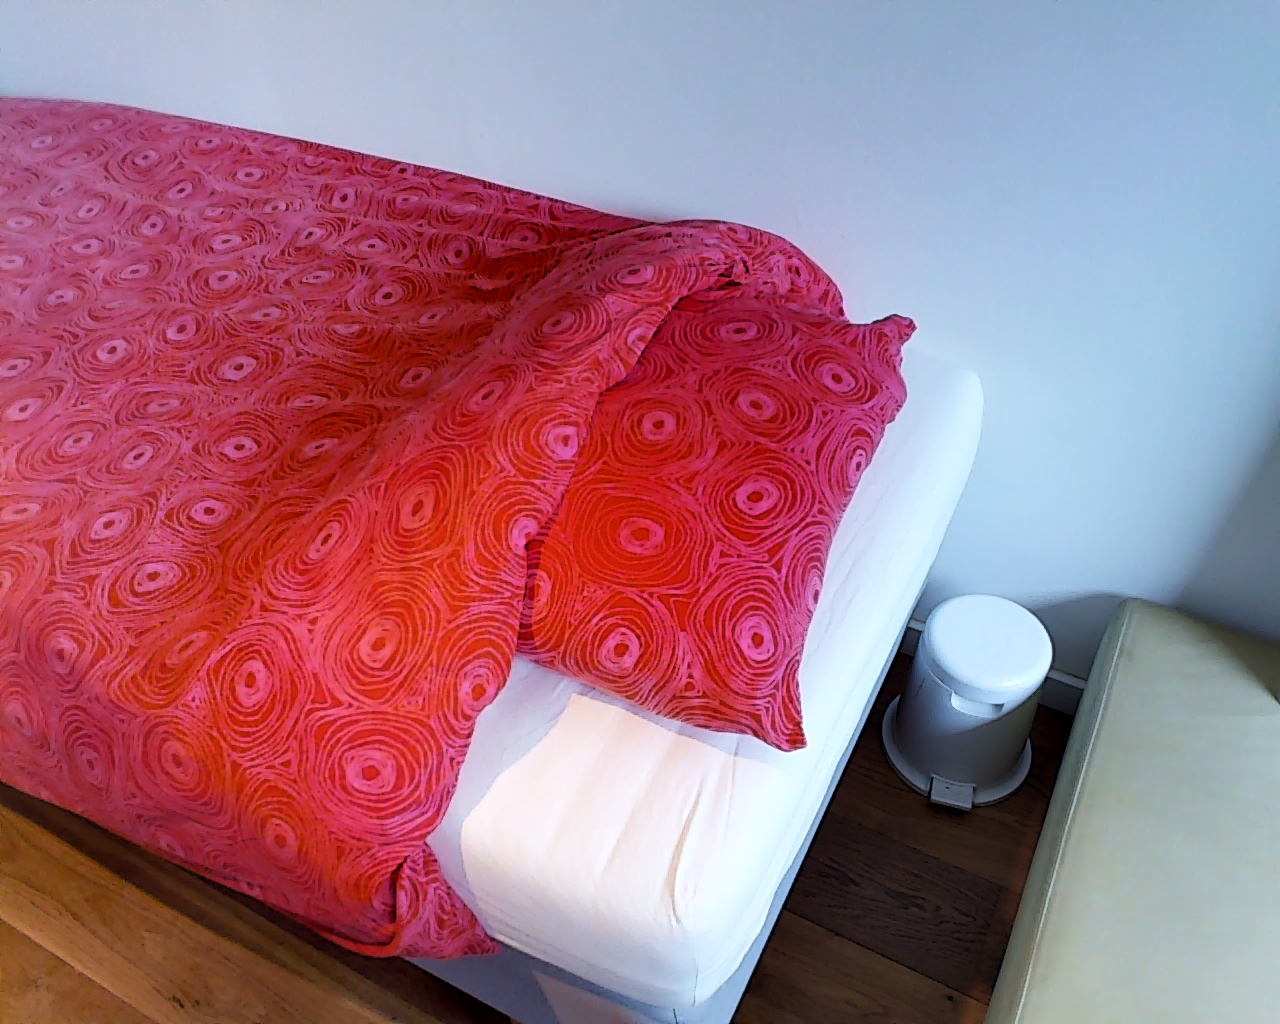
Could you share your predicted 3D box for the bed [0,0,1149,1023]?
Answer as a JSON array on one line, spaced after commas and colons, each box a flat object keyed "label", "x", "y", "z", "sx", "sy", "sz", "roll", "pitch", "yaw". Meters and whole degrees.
[{"label": "bed", "x": -0.660, "y": -0.100, "z": 1.550, "sx": 2.220, "sy": 0.910, "sz": 1.100, "roll": 19, "pitch": 46, "yaw": 21}]
